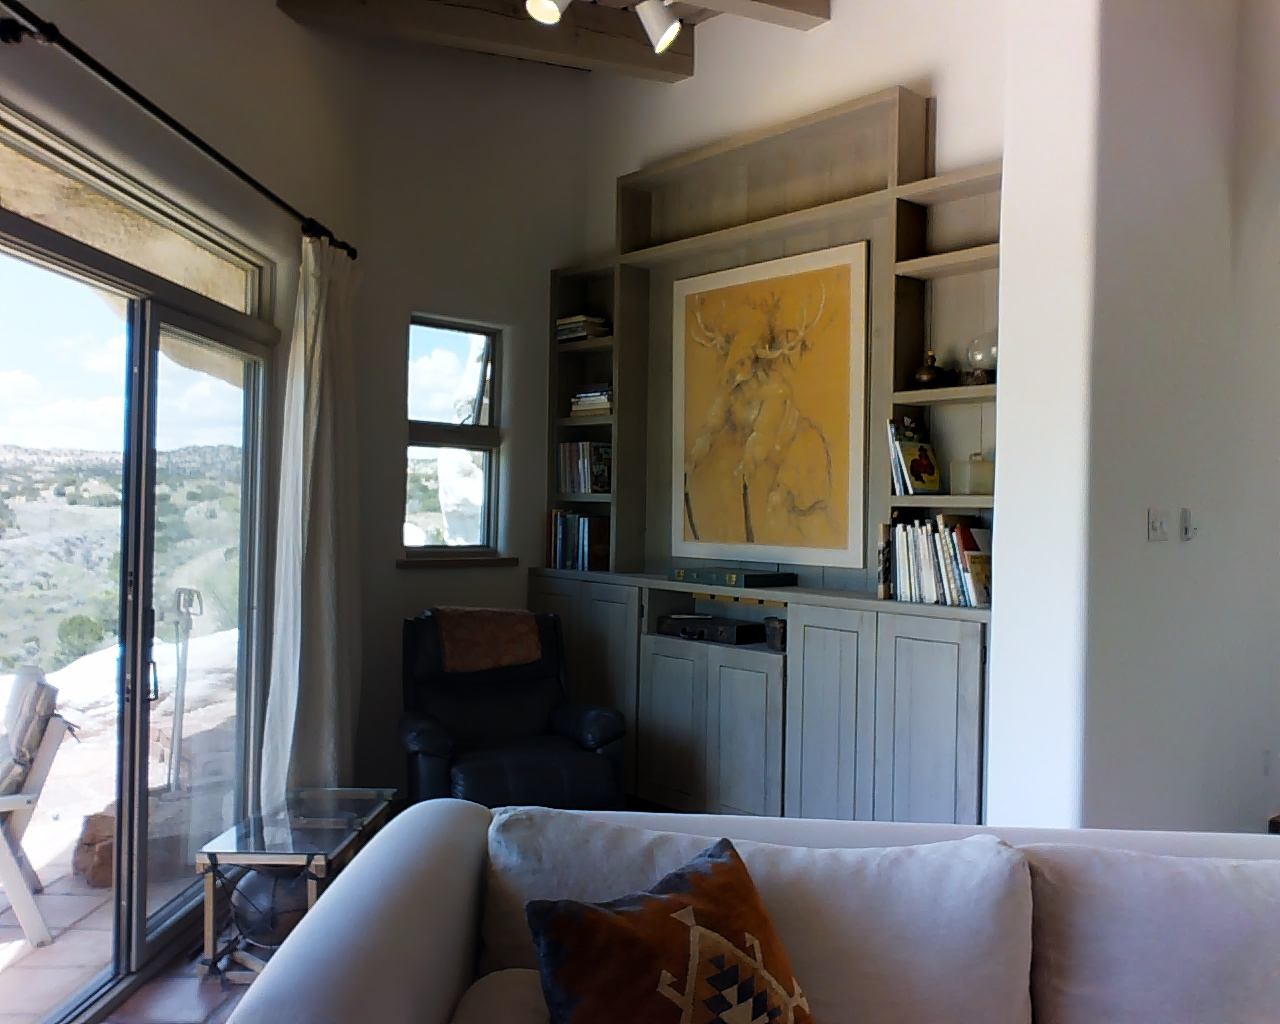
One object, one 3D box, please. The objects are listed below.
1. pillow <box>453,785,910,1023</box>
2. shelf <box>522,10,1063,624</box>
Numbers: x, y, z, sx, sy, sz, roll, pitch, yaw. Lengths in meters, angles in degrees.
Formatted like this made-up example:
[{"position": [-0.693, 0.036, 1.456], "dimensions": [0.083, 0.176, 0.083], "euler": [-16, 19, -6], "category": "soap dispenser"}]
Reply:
[{"position": [0.080, 0.820, 1.710], "dimensions": [0.280, 0.510, 0.540], "euler": [-20, 18, 49], "category": "pillow"}, {"position": [0.460, -0.690, 4.780], "dimensions": [0.370, 2.091, 2.700], "euler": [2, 0, -42], "category": "shelf"}]
